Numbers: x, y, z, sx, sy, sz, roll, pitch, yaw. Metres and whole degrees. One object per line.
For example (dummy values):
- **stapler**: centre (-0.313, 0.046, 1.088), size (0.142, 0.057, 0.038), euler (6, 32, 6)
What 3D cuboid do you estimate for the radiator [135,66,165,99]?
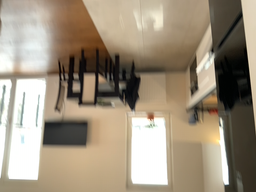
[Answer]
- **radiator**: centre (0.440, -0.270, 4.290), size (0.580, 0.640, 0.180), euler (0, 169, 2)
